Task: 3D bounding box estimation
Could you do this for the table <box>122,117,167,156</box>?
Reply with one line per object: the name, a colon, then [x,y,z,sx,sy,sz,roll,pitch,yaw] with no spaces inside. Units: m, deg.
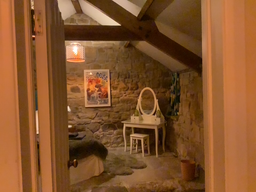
table: [0.400,0.940,5.150,0.920,0.740,0.580,0,3,28]
